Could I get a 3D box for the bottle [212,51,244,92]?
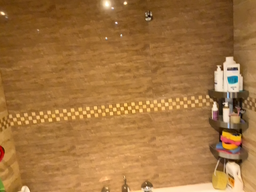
[{"bbox_3d":[0.690,-0.170,1.460,0.160,0.250,0.170,4,14,40],"label":"bottle"}]
